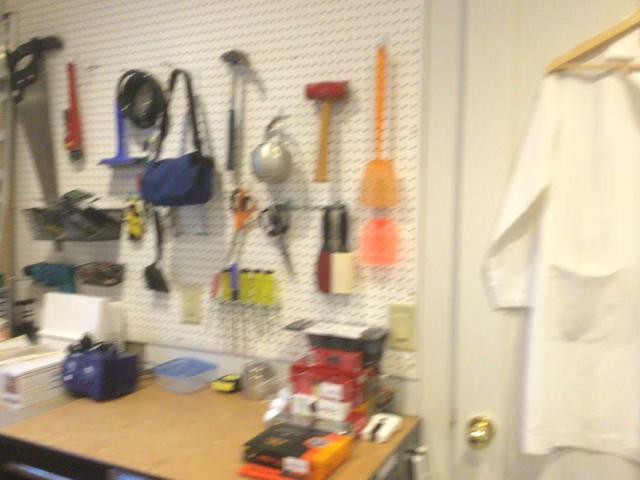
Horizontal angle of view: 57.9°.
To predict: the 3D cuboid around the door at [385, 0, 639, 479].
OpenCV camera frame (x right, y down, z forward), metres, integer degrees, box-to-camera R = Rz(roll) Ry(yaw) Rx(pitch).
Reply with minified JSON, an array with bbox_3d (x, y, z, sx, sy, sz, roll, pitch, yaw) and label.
[{"bbox_3d":[0.620,0.350,1.240,0.970,2.010,0.100,1,5,25],"label":"door"}]
